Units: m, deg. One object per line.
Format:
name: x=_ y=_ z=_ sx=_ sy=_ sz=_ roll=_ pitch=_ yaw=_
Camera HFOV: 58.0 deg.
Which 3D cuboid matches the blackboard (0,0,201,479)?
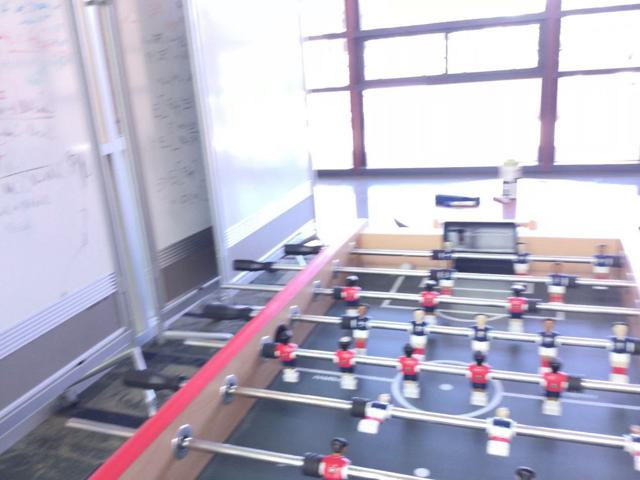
blackboard: x=-1.090 y=0.110 z=1.910 sx=0.280 sy=1.730 sz=1.410 roll=-4 pitch=19 yaw=22
